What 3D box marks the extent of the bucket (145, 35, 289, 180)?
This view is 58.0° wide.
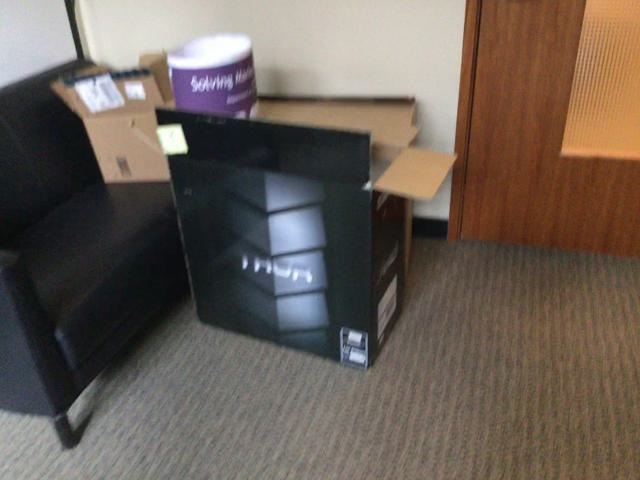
[{"bbox_3d":[-0.290,-0.410,1.740,0.240,0.320,0.330,11,34,23],"label":"bucket"}]

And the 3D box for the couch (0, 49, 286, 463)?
[{"bbox_3d":[-0.810,-0.110,1.910,0.850,0.690,1.230,11,34,23],"label":"couch"}]

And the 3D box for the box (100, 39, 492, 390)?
[{"bbox_3d":[-0.010,-0.180,2.050,0.980,0.810,0.830,11,34,23],"label":"box"}]

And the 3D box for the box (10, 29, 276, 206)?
[{"bbox_3d":[-0.620,-0.500,2.180,0.650,0.420,0.610,11,34,23],"label":"box"}]
